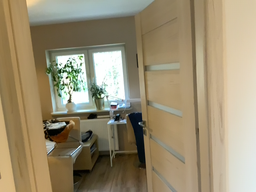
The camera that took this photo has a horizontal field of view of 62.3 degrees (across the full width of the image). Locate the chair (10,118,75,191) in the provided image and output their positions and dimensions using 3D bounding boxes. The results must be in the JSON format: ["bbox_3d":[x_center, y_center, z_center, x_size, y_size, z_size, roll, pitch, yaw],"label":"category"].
[{"bbox_3d":[-1.110,0.840,2.910,0.470,0.900,0.720,-4,7,3],"label":"chair"}]

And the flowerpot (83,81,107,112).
[{"bbox_3d":[-0.620,0.000,4.010,0.350,0.540,0.200,-4,7,5],"label":"flowerpot"}]

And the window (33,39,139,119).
[{"bbox_3d":[-0.740,-0.290,3.850,1.800,1.290,0.120,-4,7,3],"label":"window"}]
